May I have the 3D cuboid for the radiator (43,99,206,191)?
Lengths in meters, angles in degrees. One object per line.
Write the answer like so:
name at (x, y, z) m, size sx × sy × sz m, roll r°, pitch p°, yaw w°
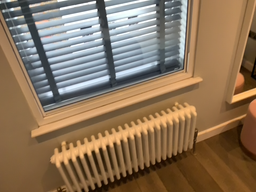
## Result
radiator at (0.030, 0.420, 1.520) m, size 1.070 × 0.520 × 0.140 m, roll -17°, pitch 37°, yaw -13°
